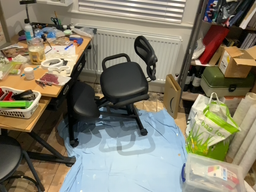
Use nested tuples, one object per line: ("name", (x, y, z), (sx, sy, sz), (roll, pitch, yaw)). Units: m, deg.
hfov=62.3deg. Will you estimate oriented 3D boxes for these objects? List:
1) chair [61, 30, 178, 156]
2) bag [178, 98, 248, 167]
("chair", (-0.130, -0.050, 1.720), (0.710, 0.770, 0.600), (-4, 39, -14))
("bag", (0.640, 0.290, 1.700), (0.360, 0.390, 0.330), (8, 37, 2))
